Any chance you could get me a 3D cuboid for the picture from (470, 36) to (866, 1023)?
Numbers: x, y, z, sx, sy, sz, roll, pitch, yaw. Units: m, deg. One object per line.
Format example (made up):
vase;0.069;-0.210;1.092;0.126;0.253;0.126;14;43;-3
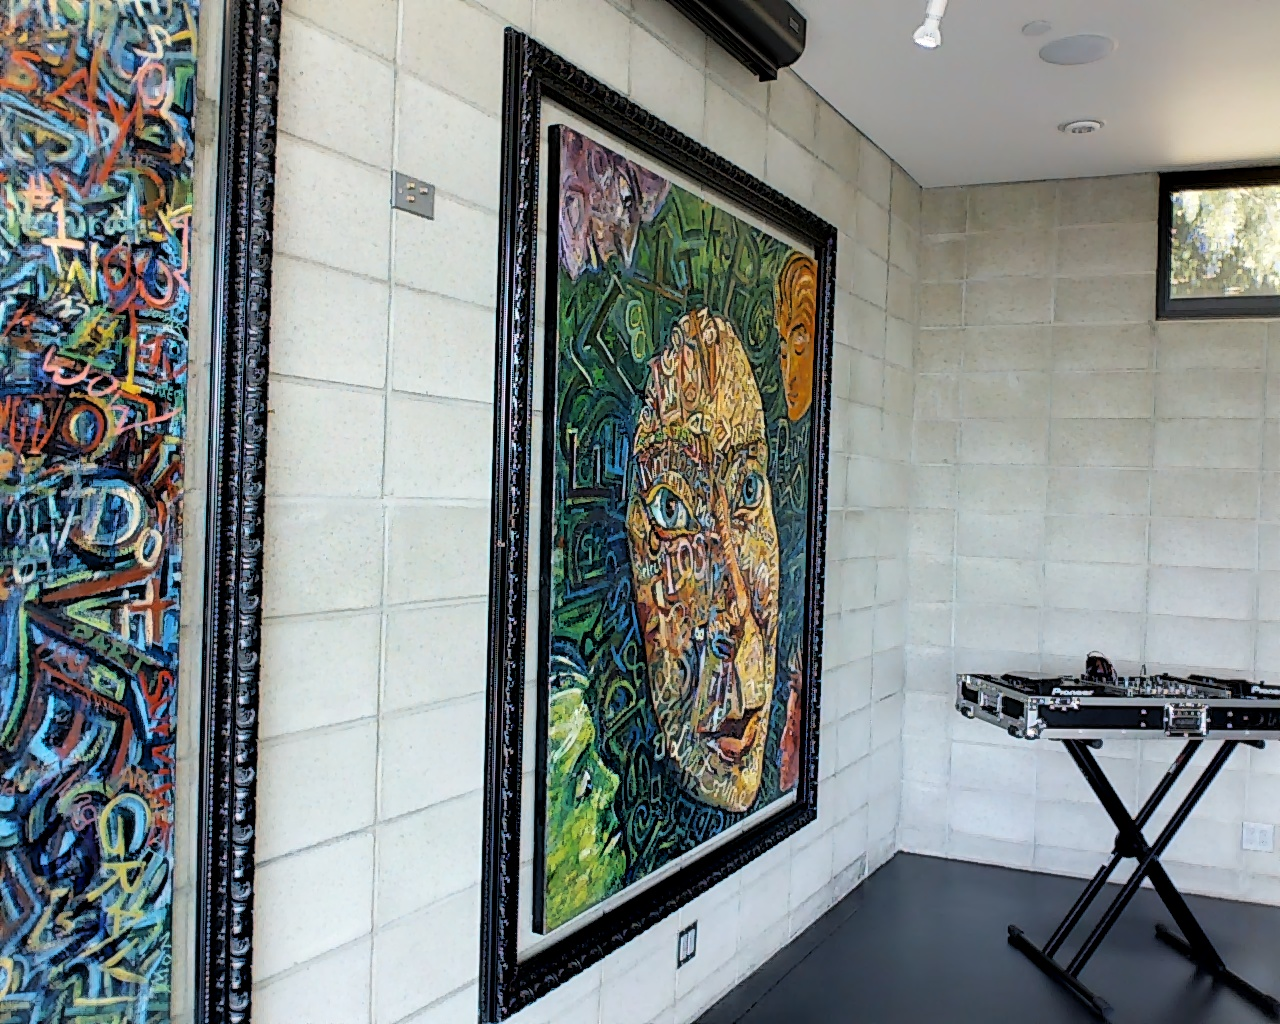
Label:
picture;0.220;0.090;3.140;0.130;2.200;1.890;2;0;33
